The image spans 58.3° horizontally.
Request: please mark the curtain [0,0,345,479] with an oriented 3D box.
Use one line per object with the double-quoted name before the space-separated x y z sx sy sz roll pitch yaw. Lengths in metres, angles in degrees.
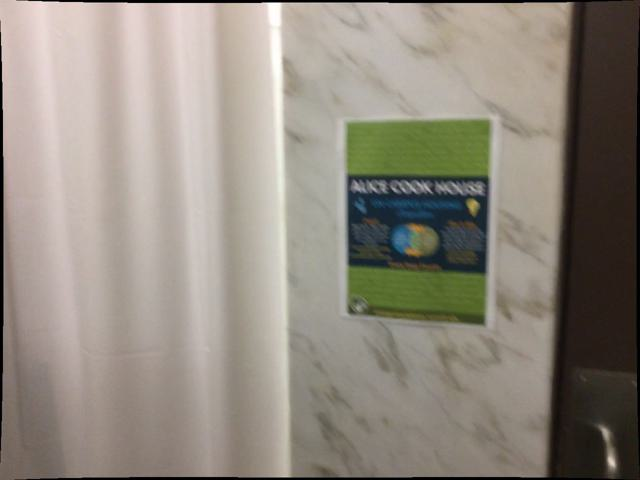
"curtain" -0.340 0.400 0.920 0.709 1.932 0.310 0 8 14
